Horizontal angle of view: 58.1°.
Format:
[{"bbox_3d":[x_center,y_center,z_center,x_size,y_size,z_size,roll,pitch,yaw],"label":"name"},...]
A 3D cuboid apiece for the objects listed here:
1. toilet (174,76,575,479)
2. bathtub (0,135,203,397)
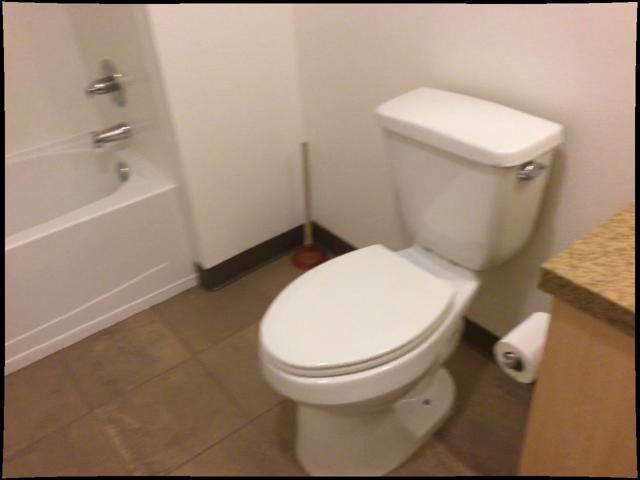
[{"bbox_3d":[0.160,0.140,1.500,0.769,0.862,0.460,-26,39,-29],"label":"toilet"},{"bbox_3d":[-1.307,0.170,2.050,1.508,0.471,0.760,-26,39,-29],"label":"bathtub"}]
